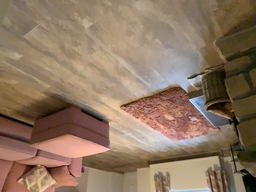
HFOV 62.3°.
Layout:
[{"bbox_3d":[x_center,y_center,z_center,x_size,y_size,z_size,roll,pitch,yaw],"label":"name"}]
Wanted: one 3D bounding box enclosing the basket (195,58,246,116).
[{"bbox_3d":[0.860,-0.070,1.990,0.320,0.380,0.300,-18,146,31],"label":"basket"}]
